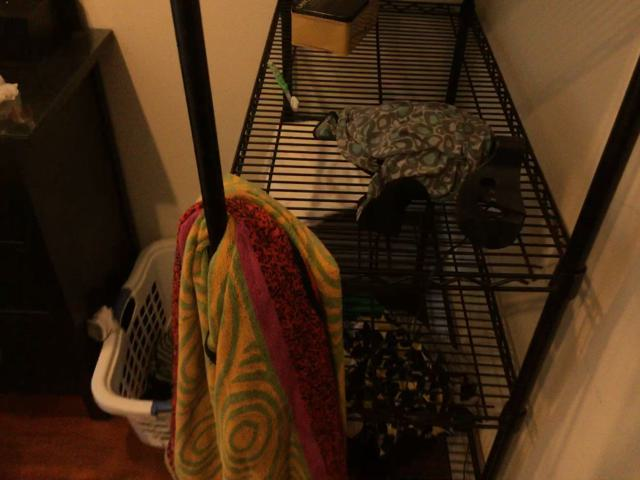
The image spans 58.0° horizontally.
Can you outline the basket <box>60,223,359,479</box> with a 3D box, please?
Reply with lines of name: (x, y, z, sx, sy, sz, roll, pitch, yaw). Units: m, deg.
basket: (-0.260, 0.300, 1.690, 0.690, 0.350, 0.630, 2, 41, -2)
